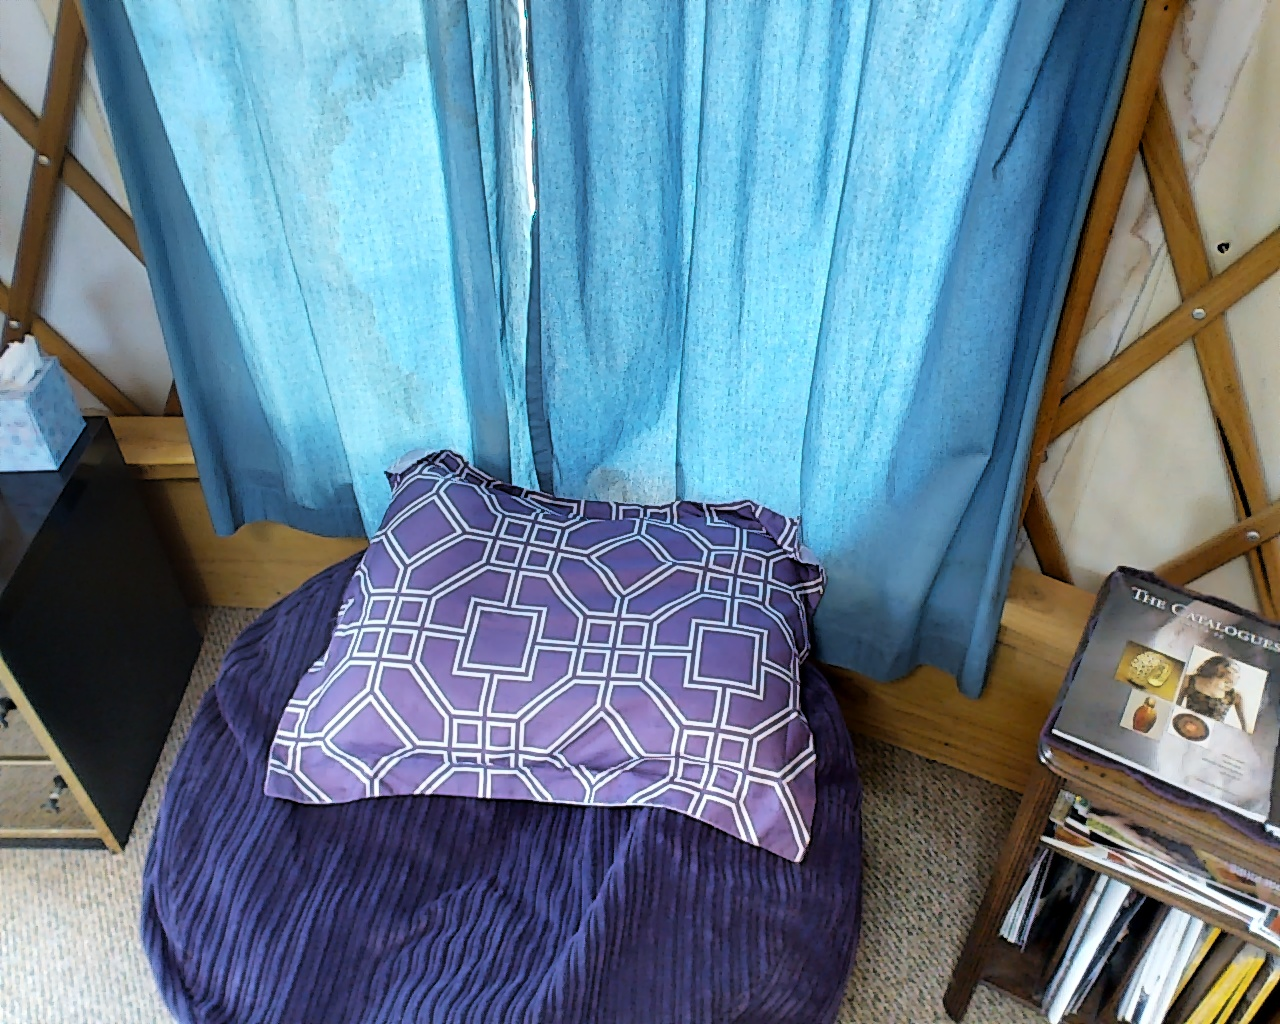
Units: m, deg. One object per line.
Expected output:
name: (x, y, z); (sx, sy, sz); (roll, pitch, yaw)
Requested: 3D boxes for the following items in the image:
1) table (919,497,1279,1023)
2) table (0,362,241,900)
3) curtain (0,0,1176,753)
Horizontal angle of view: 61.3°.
table: (0.730, 0.430, 1.370); (0.500, 0.630, 0.440); (24, 47, 25)
table: (-1.170, 0.180, 1.730); (0.740, 0.590, 0.620); (0, 42, 1)
curtain: (-0.110, -0.470, 1.310); (1.270, 1.730, 0.250); (11, 43, 12)
